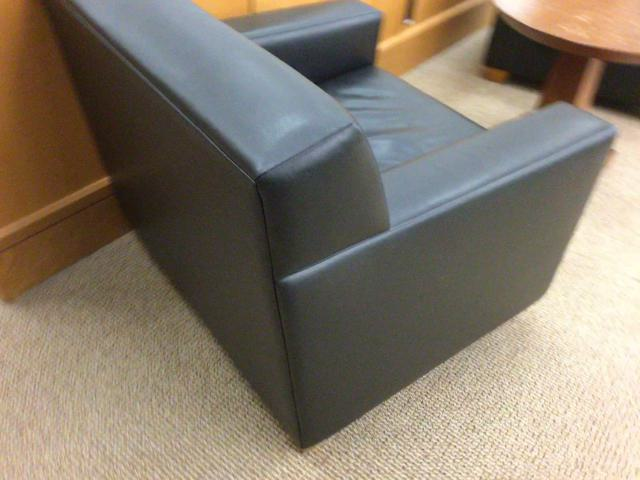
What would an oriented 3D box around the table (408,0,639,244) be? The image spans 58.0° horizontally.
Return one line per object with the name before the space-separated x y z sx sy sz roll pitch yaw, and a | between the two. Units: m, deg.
table | 0.810 -0.520 1.990 0.690 0.580 0.660 32 50 31
